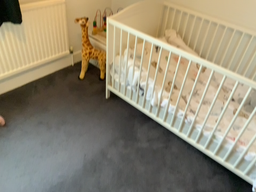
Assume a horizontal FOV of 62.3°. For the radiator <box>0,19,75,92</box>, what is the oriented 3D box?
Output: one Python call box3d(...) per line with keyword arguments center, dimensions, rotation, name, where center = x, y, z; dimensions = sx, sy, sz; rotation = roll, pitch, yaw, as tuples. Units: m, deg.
box3d(center=(-0.910, -0.370, 1.940), dimensions=(0.060, 0.470, 0.940), rotation=(34, 47, 29), name="radiator")
